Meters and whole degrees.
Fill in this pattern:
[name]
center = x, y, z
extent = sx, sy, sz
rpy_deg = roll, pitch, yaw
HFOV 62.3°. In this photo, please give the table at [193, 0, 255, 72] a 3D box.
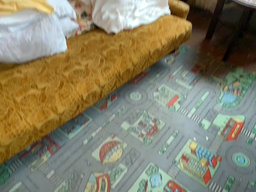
[table]
center = 1.140, -0.740, 2.130
extent = 0.580, 0.600, 0.590
rpy_deg = 36, 56, 26
